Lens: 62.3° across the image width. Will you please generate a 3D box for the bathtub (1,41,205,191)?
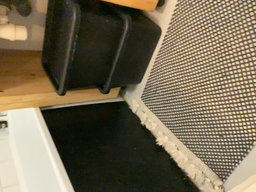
[{"bbox_3d":[-0.320,0.320,1.270,1.350,0.560,0.680,50,131,36],"label":"bathtub"}]
